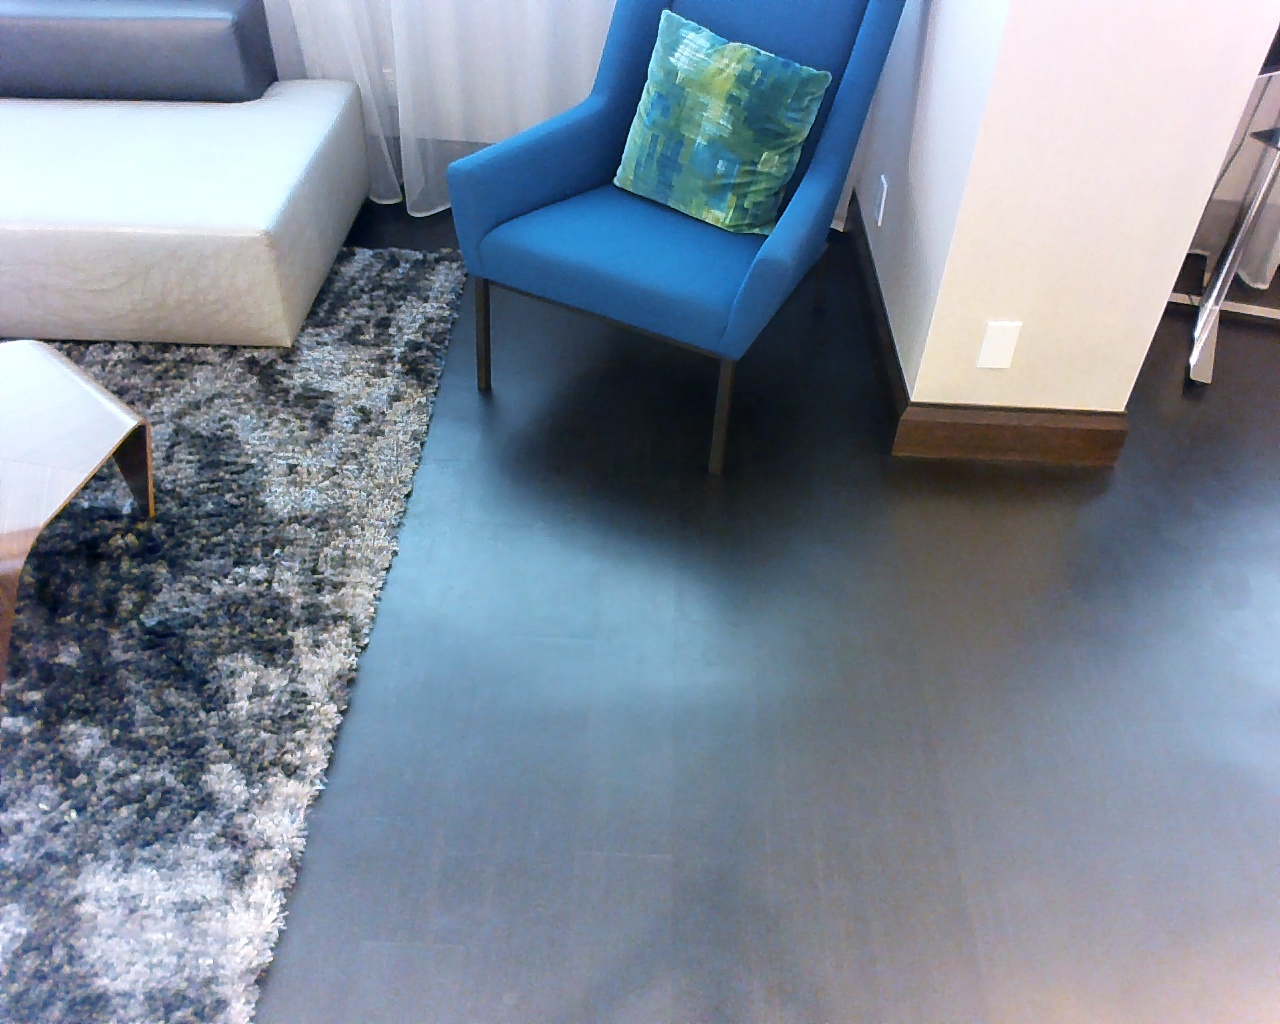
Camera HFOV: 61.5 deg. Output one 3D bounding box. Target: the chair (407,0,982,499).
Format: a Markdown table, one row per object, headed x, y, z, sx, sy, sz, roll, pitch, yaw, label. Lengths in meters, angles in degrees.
| x | y | z | sx | sy | sz | roll | pitch | yaw | label |
| --- | --- | --- | --- | --- | --- | --- | --- | --- | --- |
| 0.170 | -0.900 | 2.480 | 0.860 | 1.150 | 1.030 | 22 | 46 | 21 | chair |
